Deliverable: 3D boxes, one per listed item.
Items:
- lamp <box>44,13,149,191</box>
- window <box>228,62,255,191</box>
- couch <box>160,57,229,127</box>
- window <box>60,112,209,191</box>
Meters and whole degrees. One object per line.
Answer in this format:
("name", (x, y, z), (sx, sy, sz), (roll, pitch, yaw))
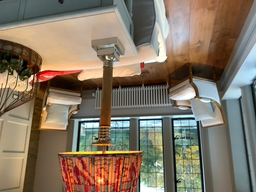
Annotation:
("lamp", (-0.110, 0.070, 0.960), (0.370, 0.810, 0.230), (-3, 164, 13))
("window", (1.640, 0.570, 2.660), (0.080, 1.760, 2.540), (-3, 164, 14))
("couch", (1.070, -0.010, 3.580), (0.720, 0.930, 0.770), (7, 163, -20))
("window", (0.050, 1.260, 4.300), (2.900, 1.810, 0.100), (-2, 164, 10))
